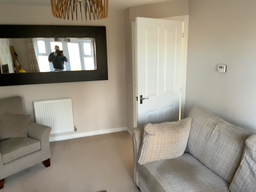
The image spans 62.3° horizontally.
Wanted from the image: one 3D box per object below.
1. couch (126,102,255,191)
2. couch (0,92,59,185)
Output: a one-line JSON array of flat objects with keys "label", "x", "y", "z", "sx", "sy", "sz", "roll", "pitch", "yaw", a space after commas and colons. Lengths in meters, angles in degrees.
[{"label": "couch", "x": 0.790, "y": 0.770, "z": 1.780, "sx": 1.040, "sy": 0.880, "sz": 2.060, "roll": -5, "pitch": 14, "yaw": -17}, {"label": "couch", "x": -1.630, "y": 0.500, "z": 2.990, "sx": 0.900, "sy": 0.890, "sz": 0.850, "roll": 11, "pitch": 17, "yaw": 40}]
